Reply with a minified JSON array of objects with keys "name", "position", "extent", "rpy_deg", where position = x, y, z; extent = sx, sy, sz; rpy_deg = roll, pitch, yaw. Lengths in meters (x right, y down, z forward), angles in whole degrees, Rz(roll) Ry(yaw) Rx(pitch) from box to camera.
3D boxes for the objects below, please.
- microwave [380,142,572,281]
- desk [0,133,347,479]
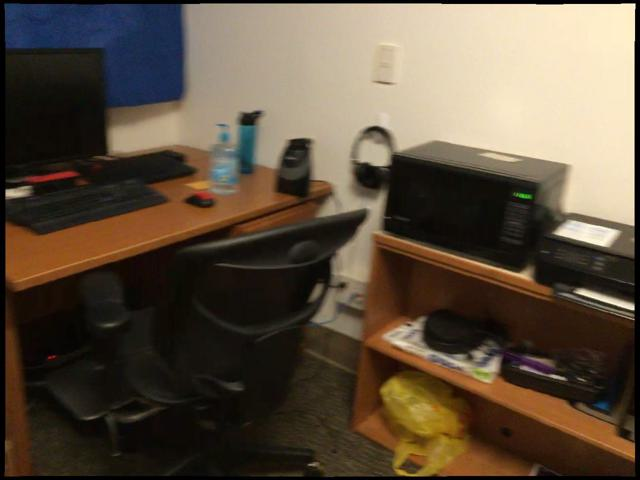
[{"name":"microwave","position":[0.469,-0.110,1.750],"extent":[0.430,0.250,0.340],"rpy_deg":[20,26,32]},{"name":"desk","position":[-0.669,0.170,2.090],"extent":[0.889,0.821,1.289],"rpy_deg":[19,25,32]}]
